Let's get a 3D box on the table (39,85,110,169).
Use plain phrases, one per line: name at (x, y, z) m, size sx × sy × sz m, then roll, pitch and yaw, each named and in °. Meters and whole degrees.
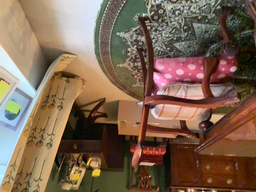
table at (-0.580, 0.450, 2.710) m, size 0.610 × 0.750 × 1.000 m, roll 4°, pitch 153°, yaw -2°
